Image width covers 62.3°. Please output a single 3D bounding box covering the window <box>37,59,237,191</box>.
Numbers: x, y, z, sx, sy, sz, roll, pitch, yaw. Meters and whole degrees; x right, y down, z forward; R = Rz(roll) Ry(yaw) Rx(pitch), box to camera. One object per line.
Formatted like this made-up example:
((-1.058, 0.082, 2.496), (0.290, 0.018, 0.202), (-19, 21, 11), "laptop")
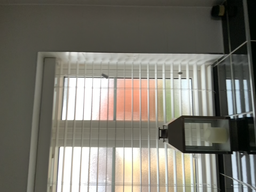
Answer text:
((0.050, 0.260, 1.200), (0.110, 1.040, 0.930), (93, 177, -79), "window")
